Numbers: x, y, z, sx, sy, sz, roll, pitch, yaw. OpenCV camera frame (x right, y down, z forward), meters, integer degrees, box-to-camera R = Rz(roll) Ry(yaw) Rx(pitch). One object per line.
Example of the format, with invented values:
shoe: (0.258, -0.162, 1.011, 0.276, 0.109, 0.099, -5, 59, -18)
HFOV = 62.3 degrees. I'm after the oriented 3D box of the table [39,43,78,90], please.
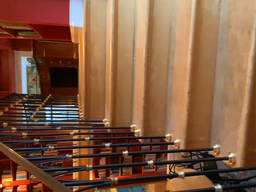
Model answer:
table: (-1.490, -0.640, 4.660, 0.620, 0.730, 0.820, 107, 158, -48)
